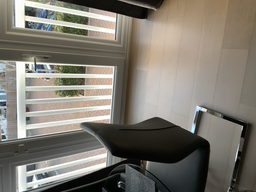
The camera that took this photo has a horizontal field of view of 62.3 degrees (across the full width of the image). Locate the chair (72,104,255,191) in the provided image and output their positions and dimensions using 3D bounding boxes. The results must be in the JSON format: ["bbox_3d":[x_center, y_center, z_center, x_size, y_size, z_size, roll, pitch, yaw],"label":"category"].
[{"bbox_3d":[0.250,0.410,1.260,0.420,1.030,0.560,21,110,51],"label":"chair"}]

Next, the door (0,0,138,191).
[{"bbox_3d":[-0.820,0.090,1.960,0.070,2.090,1.920,18,107,51],"label":"door"}]
